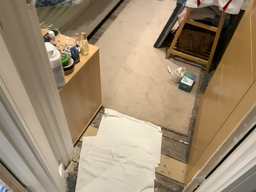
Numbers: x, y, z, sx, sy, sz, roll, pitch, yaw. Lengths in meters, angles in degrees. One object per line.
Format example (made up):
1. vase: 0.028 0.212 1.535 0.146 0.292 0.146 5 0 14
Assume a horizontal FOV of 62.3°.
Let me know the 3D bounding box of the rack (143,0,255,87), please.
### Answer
1. rack: 0.680 -0.970 1.810 0.710 1.540 0.790 19 51 11
